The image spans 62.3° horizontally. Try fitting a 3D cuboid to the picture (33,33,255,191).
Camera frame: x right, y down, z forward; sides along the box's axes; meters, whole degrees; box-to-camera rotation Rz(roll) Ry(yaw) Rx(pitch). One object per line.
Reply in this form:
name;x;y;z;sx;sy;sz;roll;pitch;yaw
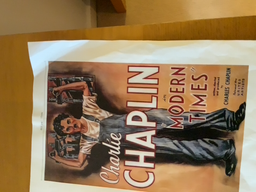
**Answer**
picture;0.040;0.040;0.240;0.300;0.020;0.210;3;92;8
